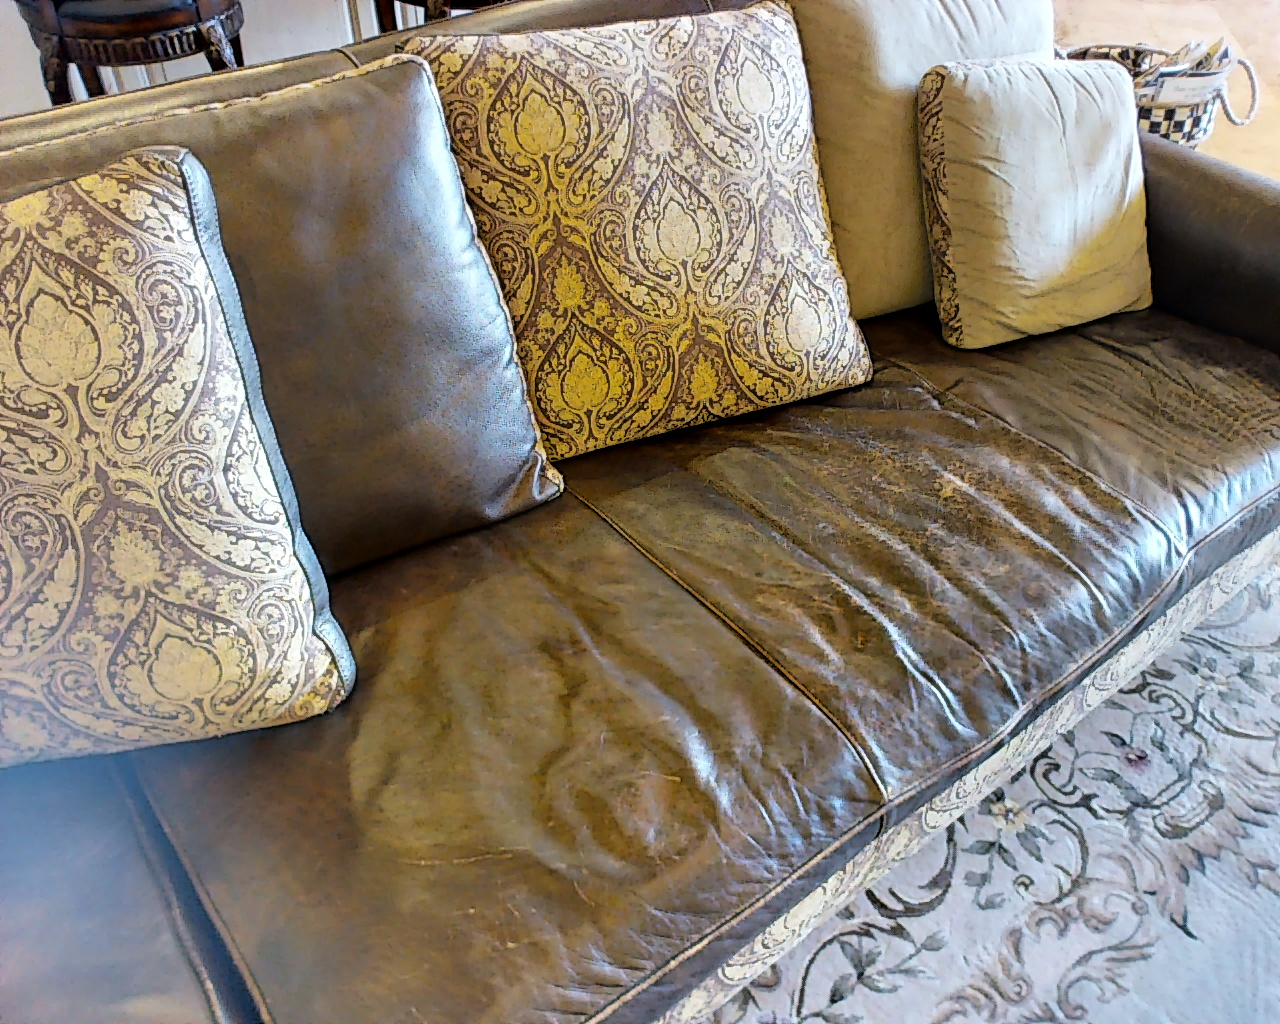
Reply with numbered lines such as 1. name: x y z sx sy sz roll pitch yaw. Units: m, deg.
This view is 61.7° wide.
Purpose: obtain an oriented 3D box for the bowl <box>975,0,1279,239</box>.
1. bowl: 1.060 -0.860 2.290 0.430 0.290 0.430 -25 48 -25

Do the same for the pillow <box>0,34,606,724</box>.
1. pillow: -0.470 -0.190 1.280 0.740 0.500 0.440 -18 46 -19
